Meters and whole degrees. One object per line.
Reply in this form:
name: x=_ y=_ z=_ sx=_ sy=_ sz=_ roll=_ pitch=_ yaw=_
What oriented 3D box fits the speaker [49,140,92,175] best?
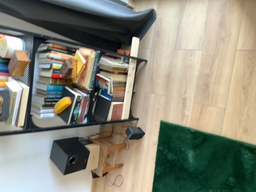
speaker: x=-0.450 y=0.470 z=1.660 sx=0.240 sy=0.220 sz=0.150 roll=12 pitch=98 yaw=40

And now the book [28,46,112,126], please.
book: x=-0.420 y=-0.090 z=1.490 sx=0.480 sy=0.320 sz=0.450 roll=13 pitch=98 yaw=40

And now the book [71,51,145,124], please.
book: x=-0.170 y=-0.080 z=1.760 sx=0.410 sy=0.370 sz=0.500 roll=14 pitch=99 yaw=40
